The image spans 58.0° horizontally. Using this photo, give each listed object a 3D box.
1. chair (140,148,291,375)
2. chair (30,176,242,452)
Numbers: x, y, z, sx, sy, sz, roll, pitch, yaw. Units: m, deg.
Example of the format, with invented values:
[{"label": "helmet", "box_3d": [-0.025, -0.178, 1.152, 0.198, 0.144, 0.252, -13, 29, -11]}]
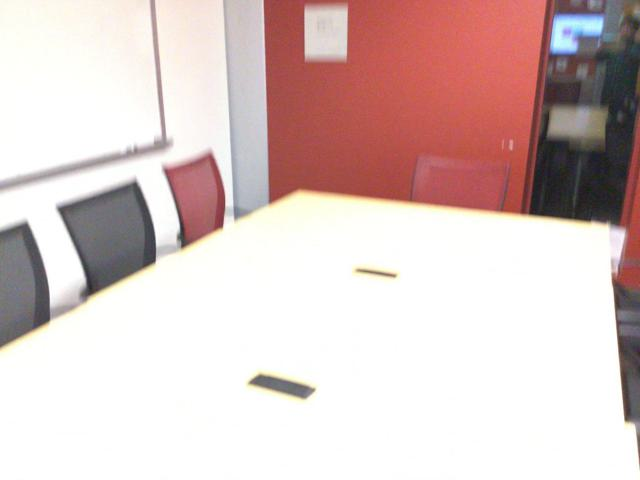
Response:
[{"label": "chair", "box_3d": [-0.460, 0.070, 2.740, 0.460, 0.900, 0.500, 9, 21, 23]}, {"label": "chair", "box_3d": [-0.680, 0.250, 2.280, 0.510, 0.870, 0.510, 9, 21, 23]}]
